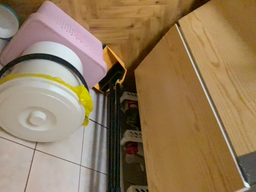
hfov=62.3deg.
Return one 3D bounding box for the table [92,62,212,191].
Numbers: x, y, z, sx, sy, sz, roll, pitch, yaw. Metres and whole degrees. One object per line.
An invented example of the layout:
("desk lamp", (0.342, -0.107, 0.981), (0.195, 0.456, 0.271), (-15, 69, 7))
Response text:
("table", (0.120, 0.300, 1.030), (0.520, 0.810, 0.250), (32, 125, -33))
